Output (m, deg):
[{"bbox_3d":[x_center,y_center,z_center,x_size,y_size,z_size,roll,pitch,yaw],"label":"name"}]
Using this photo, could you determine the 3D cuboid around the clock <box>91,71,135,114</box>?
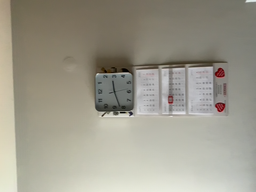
[{"bbox_3d":[-0.090,-0.020,1.300,0.050,0.250,0.250,-32,-59,-81],"label":"clock"}]
